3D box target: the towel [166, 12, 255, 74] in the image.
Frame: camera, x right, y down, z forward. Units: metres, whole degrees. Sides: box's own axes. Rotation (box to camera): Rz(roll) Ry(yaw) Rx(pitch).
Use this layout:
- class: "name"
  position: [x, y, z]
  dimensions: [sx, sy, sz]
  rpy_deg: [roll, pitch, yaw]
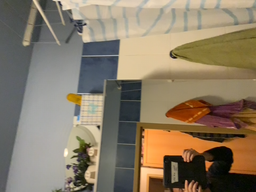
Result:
- class: "towel"
  position: [0.490, -0.220, 0.890]
  dimensions: [0.130, 0.650, 0.210]
  rpy_deg: [59, -147, -71]
